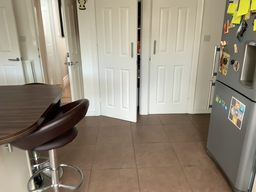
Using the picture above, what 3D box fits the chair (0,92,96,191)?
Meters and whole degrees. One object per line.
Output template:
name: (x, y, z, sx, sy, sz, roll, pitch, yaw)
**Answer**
chair: (-0.490, 0.480, 1.410, 0.480, 0.910, 0.430, -2, 20, -5)
